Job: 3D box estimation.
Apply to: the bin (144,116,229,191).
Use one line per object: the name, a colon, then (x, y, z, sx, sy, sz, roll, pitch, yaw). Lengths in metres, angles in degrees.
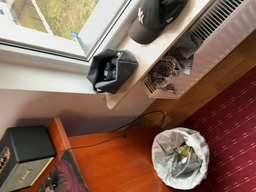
bin: (0.320, 0.310, 1.170, 0.270, 0.250, 0.280, -45, 62, 29)
